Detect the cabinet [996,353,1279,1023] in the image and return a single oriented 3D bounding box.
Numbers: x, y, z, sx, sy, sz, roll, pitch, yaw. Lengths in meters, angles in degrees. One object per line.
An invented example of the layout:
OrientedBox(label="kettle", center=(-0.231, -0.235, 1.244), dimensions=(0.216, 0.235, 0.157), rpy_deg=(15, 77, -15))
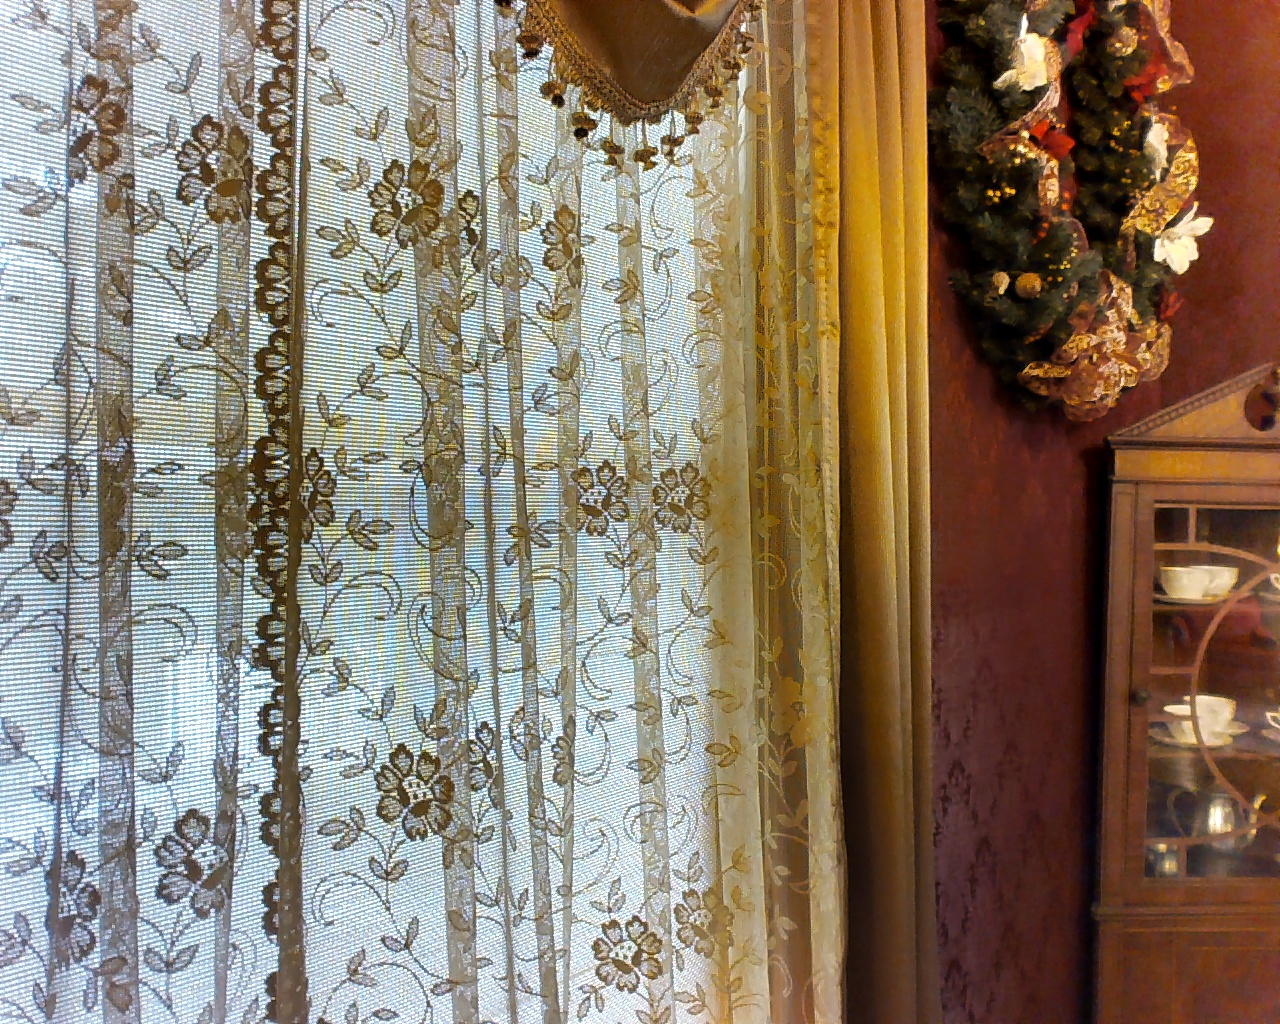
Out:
OrientedBox(label="cabinet", center=(1.130, 0.610, 2.130), dimensions=(0.710, 1.781, 0.380), rpy_deg=(1, 0, -3))
